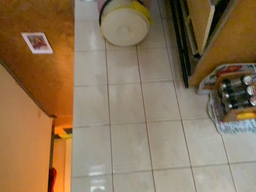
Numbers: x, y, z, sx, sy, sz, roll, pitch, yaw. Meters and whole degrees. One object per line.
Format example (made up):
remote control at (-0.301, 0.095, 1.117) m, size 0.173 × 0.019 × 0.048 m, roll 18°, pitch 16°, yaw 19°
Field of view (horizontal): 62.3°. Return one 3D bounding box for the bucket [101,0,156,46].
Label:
bucket at (-0.010, -0.490, 1.290) m, size 0.290 × 0.230 × 0.270 m, roll -3°, pitch 156°, yaw -4°
